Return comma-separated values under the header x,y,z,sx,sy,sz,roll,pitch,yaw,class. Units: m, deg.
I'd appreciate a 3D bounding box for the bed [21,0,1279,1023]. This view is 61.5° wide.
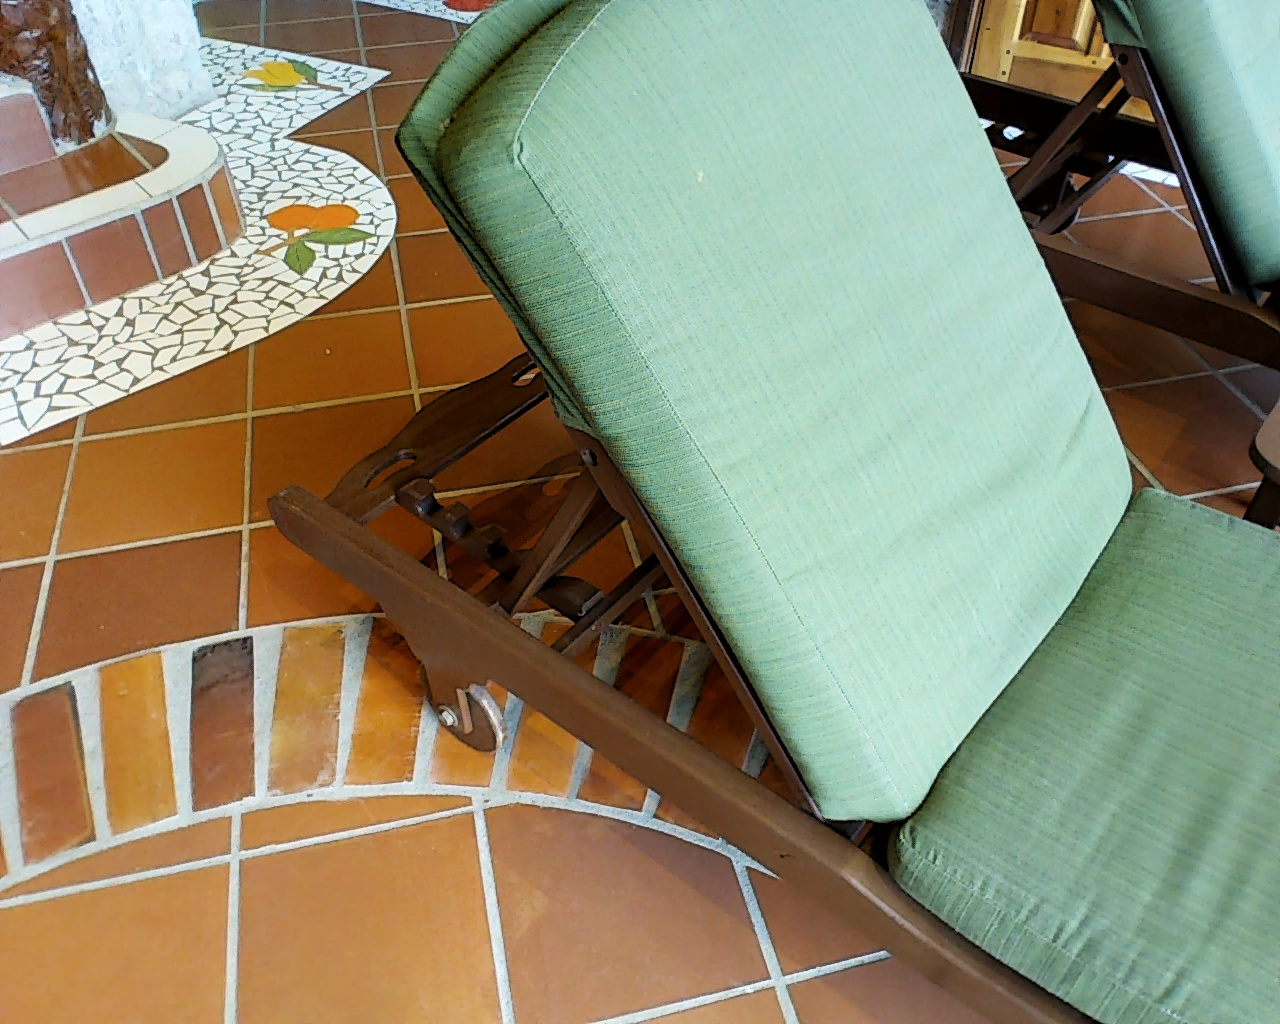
x,y,z,sx,sy,sz,roll,pitch,yaw,class
0.540,0.110,1.010,2.220,0.960,0.780,28,50,28,bed
